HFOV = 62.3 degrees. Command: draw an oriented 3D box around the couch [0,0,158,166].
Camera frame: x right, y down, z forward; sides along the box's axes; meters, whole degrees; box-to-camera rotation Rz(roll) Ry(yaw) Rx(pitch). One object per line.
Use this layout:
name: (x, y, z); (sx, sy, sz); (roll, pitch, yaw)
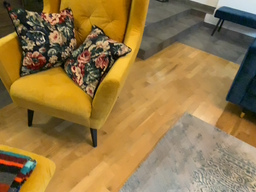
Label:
couch: (-0.350, -0.320, 1.590); (0.860, 1.070, 0.970); (15, 38, 9)
